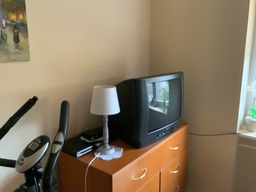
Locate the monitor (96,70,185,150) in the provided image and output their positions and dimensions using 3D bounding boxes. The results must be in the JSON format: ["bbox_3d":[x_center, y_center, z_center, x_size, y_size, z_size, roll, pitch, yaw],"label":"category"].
[{"bbox_3d":[0.110,0.050,1.590,0.380,0.440,0.570,9,15,39],"label":"monitor"}]
